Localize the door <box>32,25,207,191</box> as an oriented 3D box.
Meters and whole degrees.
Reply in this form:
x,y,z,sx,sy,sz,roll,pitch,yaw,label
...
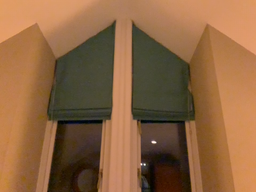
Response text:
x,y,z,sx,sy,sz,roll,pitch,yaw,label
-0.050,0.580,1.890,1.450,2.840,0.090,2,-22,-5,door
